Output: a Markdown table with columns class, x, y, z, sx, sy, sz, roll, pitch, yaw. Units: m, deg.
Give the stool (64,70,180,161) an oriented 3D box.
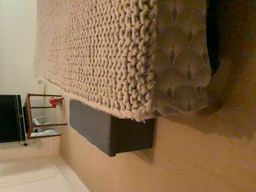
| class | x | y | z | sx | sy | sz | roll | pitch | yaw |
| --- | --- | --- | --- | --- | --- | --- | --- | --- | --- |
| stool | -0.120 | 0.060 | 1.530 | 0.880 | 0.390 | 0.410 | 16 | 103 | 55 |
